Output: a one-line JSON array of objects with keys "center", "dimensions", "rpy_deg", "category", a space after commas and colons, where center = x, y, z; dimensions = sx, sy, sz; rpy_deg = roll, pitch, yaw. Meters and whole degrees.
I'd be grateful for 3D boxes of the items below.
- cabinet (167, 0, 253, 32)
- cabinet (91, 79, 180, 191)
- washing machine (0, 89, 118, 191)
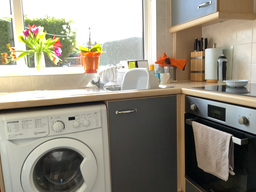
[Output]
[{"center": [0.620, -0.980, 1.710], "dimensions": [0.340, 0.790, 0.620], "rpy_deg": [-5, 9, -18], "category": "cabinet"}, {"center": [0.030, 0.350, 1.700], "dimensions": [0.490, 0.920, 0.610], "rpy_deg": [-5, 9, -20], "category": "cabinet"}, {"center": [-0.470, 0.430, 1.490], "dimensions": [0.610, 0.850, 0.680], "rpy_deg": [-5, 9, -20], "category": "washing machine"}]
